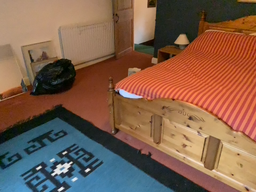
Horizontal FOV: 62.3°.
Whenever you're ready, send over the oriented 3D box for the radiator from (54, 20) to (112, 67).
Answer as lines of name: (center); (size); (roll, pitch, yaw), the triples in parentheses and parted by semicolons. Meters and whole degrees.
radiator: (-0.790, -1.030, 4.030); (0.140, 0.660, 1.210); (22, 34, 35)
